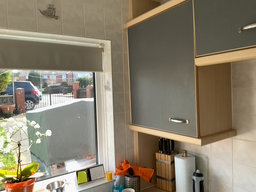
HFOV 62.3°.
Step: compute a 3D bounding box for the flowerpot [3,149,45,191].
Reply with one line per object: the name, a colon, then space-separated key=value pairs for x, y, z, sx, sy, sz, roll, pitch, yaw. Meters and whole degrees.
flowerpot: x=-0.650 y=0.510 z=1.310 sx=0.190 sy=0.250 sz=0.340 roll=-4 pitch=3 yaw=-32
